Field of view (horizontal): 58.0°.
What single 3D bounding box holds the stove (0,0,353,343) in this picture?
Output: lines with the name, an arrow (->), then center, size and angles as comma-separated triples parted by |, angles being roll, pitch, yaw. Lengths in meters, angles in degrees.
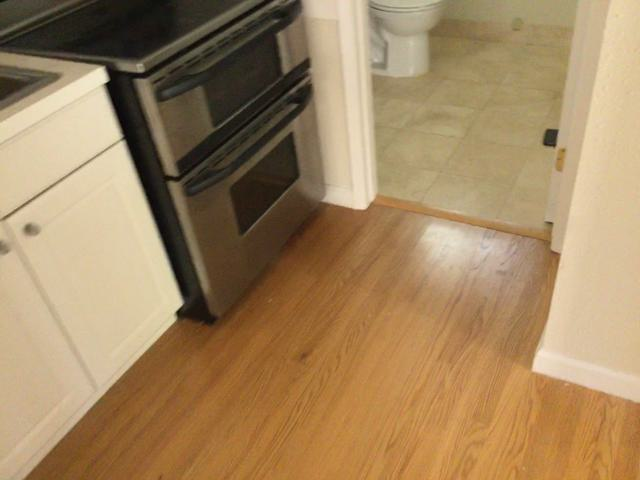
stove -> -0.480, -0.450, 1.930 | 0.760, 1.160, 0.820 | 17, 46, 29
